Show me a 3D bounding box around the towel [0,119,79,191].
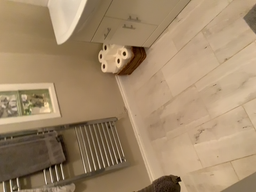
[{"bbox_3d":[-0.670,0.430,1.490,0.180,0.510,0.430,-46,57,47],"label":"towel"}]

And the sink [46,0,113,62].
[{"bbox_3d":[-0.290,-0.680,1.310,0.890,0.150,0.500,-43,60,48],"label":"sink"}]
